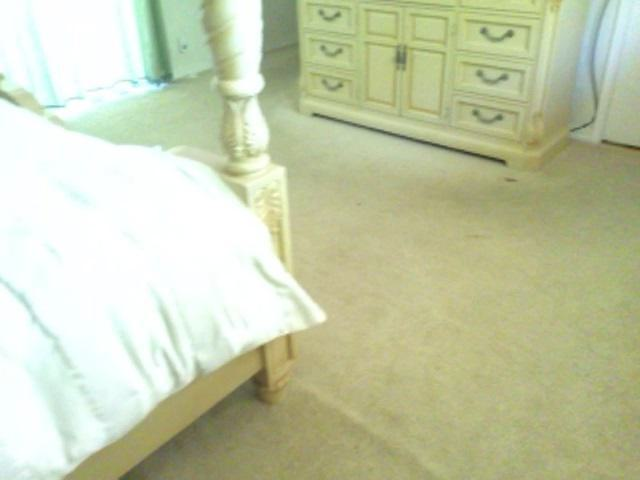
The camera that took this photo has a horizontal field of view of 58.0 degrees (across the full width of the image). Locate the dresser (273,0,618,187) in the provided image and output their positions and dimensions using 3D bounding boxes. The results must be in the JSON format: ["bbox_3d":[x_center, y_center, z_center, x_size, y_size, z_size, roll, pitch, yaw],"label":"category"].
[{"bbox_3d":[0.580,-1.050,3.070,1.670,1.090,0.480,18,39,29],"label":"dresser"}]
